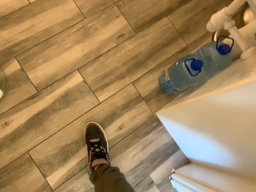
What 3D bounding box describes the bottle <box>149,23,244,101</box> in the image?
[{"bbox_3d":[0.320,-0.150,1.100,0.290,0.390,0.160,-34,88,-14],"label":"bottle"}]
